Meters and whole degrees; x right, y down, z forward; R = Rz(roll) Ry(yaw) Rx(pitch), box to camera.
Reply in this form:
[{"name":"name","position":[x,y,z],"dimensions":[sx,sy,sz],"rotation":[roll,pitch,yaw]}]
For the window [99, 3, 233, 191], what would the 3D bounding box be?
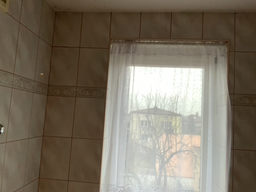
[{"name":"window","position":[0.270,0.160,1.550],"dimensions":[0.880,1.650,0.150],"rotation":[3,-5,4]}]
